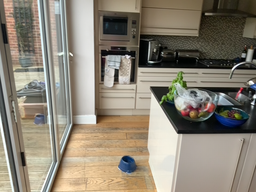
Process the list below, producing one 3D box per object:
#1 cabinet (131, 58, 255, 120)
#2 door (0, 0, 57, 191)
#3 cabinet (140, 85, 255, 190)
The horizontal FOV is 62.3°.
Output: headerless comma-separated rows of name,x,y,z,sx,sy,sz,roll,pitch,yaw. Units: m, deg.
cabinet,1.560,-0.120,3.820,2.930,0.900,0.610,1,21,-5
door,-0.930,0.180,0.820,0.080,2.430,4.750,1,21,-6
cabinet,0.700,0.410,2.200,1.040,0.900,0.540,2,20,-4
